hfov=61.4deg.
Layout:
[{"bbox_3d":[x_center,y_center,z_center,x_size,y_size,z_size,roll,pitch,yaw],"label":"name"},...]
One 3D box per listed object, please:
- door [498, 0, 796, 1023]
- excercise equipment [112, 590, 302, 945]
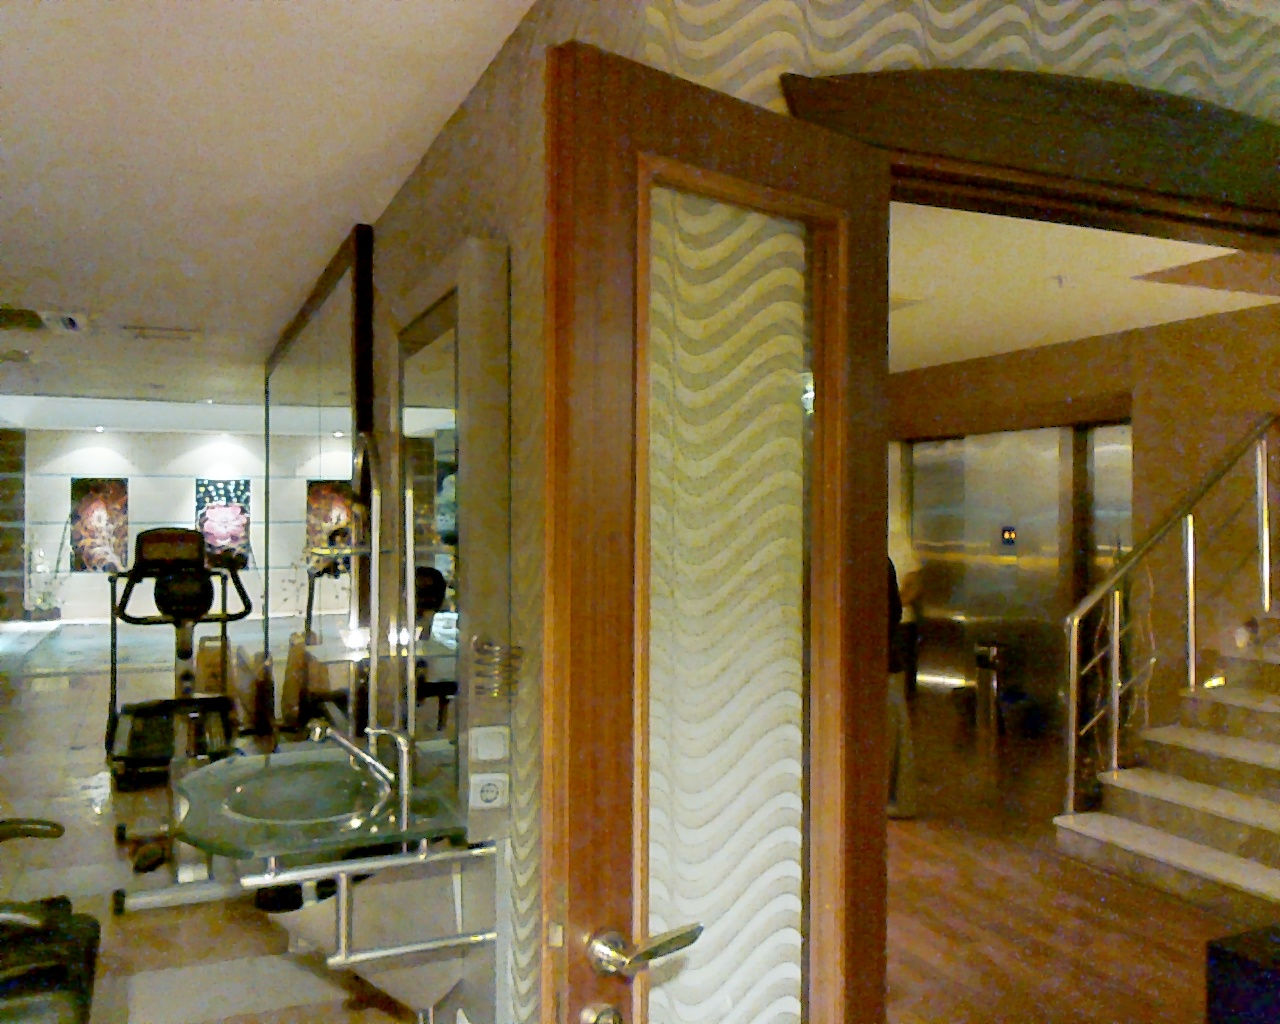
[{"bbox_3d":[0.020,0.460,1.460,0.390,2.230,0.180,1,-1,-45],"label":"door"},{"bbox_3d":[-1.880,1.000,4.690,0.670,1.240,1.170,0,-1,-22],"label":"excercise equipment"}]
